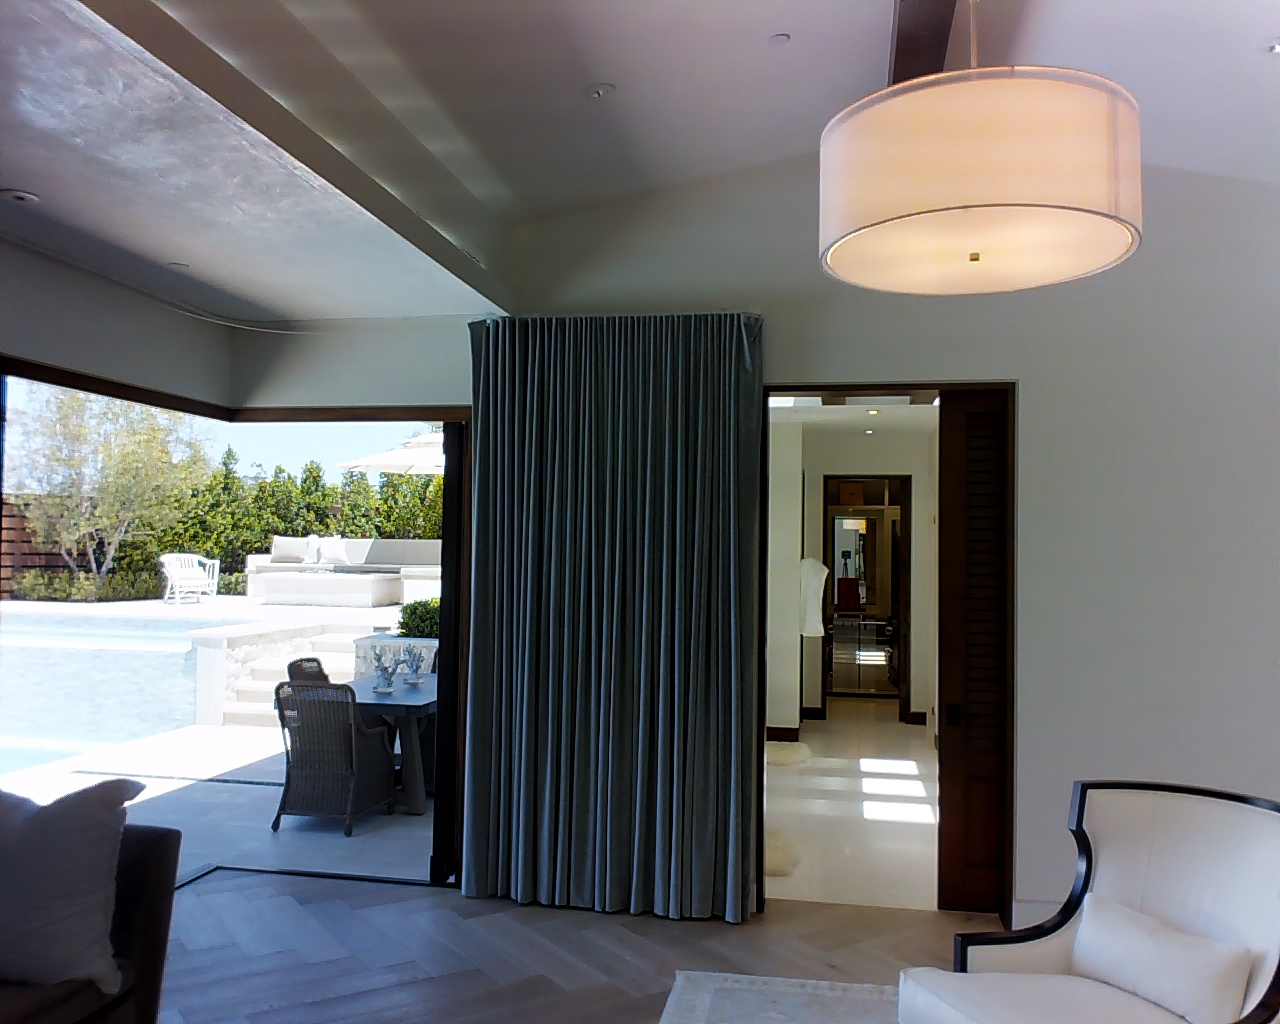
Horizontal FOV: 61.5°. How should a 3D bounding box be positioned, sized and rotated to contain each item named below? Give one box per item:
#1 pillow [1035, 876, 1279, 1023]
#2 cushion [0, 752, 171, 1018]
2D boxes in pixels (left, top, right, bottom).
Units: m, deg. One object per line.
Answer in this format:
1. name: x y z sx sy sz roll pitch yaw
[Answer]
1. pillow: 1.400 1.210 2.940 0.240 0.230 0.600 2 -2 -26
2. cushion: -1.810 1.050 3.130 0.690 0.600 0.400 1 -2 10
